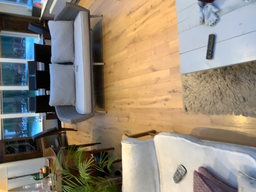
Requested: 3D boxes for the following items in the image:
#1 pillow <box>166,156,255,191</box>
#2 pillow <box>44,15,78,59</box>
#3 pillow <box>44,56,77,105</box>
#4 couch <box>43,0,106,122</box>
[{"bbox_3d":[0.460,0.630,1.170,0.460,0.250,0.440,1,92,60],"label":"pillow"},{"bbox_3d":[-1.170,-1.020,3.710,0.260,0.480,0.680,17,-109,-86],"label":"pillow"},{"bbox_3d":[-1.170,-0.260,3.690,0.200,0.490,0.820,-179,87,-84],"label":"pillow"},{"bbox_3d":[-0.950,-0.560,3.630,0.890,0.760,1.880,-4,89,60],"label":"couch"}]
